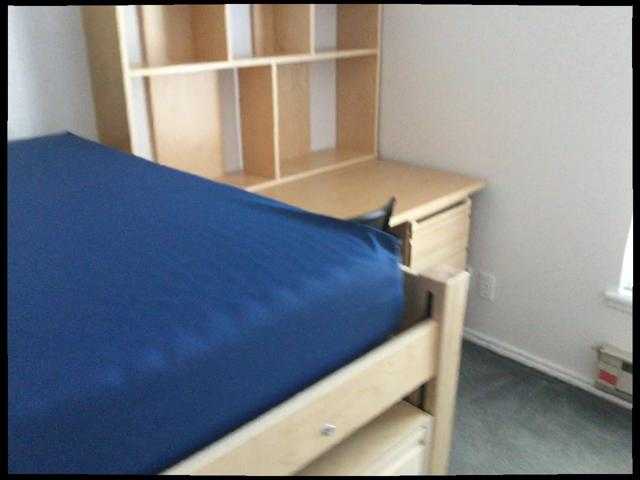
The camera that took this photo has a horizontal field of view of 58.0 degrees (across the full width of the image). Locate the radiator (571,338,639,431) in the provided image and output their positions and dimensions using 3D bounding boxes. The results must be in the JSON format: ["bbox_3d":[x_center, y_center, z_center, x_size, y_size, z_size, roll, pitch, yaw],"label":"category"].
[{"bbox_3d":[1.327,0.621,1.910,0.080,0.240,0.929,-20,29,-40],"label":"radiator"}]

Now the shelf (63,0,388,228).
[{"bbox_3d":[-0.269,-0.601,2.260,1.239,0.771,0.320,-20,29,-40],"label":"shelf"}]
